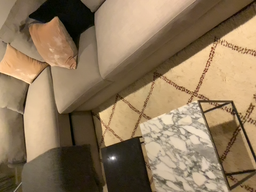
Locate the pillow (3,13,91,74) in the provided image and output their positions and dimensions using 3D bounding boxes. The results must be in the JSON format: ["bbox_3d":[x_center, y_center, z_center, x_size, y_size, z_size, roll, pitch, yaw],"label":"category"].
[{"bbox_3d":[-0.610,-0.400,1.690,0.480,0.400,0.220,14,77,10],"label":"pillow"}]

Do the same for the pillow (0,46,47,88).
[{"bbox_3d":[-1.140,-0.280,2.190,0.380,0.410,0.200,-19,73,21],"label":"pillow"}]

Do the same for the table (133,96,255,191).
[{"bbox_3d":[0.370,0.280,1.200,0.430,0.410,0.420,-31,66,43],"label":"table"}]
